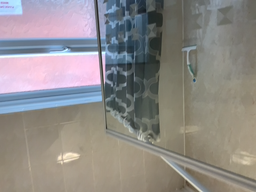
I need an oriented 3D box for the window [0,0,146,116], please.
[{"bbox_3d":[-0.470,-0.420,1.520,1.160,0.950,0.330,-8,-169,-26],"label":"window"}]
